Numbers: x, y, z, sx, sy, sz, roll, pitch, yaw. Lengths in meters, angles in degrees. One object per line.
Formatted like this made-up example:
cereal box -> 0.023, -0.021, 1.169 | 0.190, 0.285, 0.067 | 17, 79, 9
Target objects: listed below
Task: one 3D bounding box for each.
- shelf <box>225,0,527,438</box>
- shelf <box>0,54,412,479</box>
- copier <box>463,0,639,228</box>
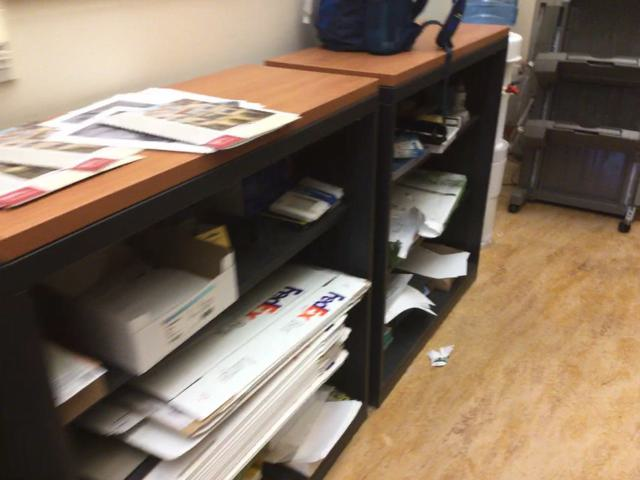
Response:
shelf -> 0.240, -0.170, 1.890 | 0.440, 1.080, 1.030 | 15, 32, 28
shelf -> -0.220, 0.210, 1.260 | 0.430, 1.010, 0.940 | 15, 32, 28
copier -> 1.450, -0.940, 3.040 | 0.880, 1.260, 1.420 | 11, 26, 30
